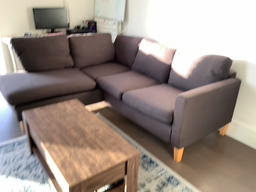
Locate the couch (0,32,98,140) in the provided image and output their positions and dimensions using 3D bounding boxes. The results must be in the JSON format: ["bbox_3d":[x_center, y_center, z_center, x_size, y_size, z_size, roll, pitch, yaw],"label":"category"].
[{"bbox_3d":[-1.020,-0.220,2.530,1.010,0.900,0.830,-16,29,-35],"label":"couch"}]

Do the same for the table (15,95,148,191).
[{"bbox_3d":[-0.430,0.420,1.720,0.550,0.420,1.070,-17,30,-37],"label":"table"}]

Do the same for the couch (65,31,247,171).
[{"bbox_3d":[0.110,-0.210,2.650,0.910,0.880,2.070,-16,30,-36],"label":"couch"}]
